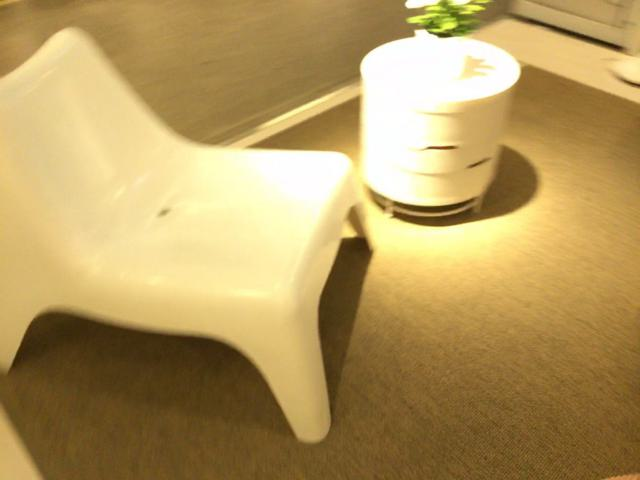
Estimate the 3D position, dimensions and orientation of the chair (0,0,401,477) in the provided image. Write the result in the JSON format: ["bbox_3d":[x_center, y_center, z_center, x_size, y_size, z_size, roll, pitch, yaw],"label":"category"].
[{"bbox_3d":[-0.350,-0.080,1.400,0.970,0.710,0.830,6,42,12],"label":"chair"}]

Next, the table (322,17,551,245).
[{"bbox_3d":[0.350,-0.370,1.850,0.470,0.440,0.470,-31,48,-27],"label":"table"}]
